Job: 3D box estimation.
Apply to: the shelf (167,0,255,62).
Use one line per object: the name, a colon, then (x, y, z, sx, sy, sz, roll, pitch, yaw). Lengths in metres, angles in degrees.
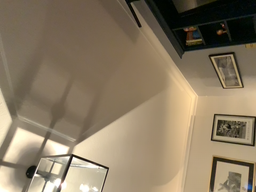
shelf: (1.190, -0.710, 2.250, 0.570, 1.380, 0.330, 38, -119, -48)
